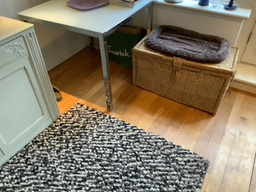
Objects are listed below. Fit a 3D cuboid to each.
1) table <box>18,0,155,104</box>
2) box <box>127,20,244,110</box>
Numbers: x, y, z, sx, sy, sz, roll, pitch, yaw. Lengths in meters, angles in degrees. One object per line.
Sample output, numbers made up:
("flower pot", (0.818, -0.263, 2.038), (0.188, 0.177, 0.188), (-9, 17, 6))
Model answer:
("table", (-0.330, -0.610, 2.140), (0.840, 0.760, 0.890), (22, 46, 22))
("box", (0.500, -0.330, 2.000), (0.890, 0.430, 0.480), (21, 46, 22))
